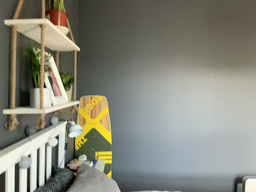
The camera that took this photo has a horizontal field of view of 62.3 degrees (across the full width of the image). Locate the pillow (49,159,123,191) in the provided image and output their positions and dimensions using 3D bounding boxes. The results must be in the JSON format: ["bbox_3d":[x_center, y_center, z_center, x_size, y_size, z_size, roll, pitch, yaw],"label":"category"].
[{"bbox_3d":[-0.250,0.680,1.430,0.410,0.310,0.570,2,2,-3],"label":"pillow"}]
